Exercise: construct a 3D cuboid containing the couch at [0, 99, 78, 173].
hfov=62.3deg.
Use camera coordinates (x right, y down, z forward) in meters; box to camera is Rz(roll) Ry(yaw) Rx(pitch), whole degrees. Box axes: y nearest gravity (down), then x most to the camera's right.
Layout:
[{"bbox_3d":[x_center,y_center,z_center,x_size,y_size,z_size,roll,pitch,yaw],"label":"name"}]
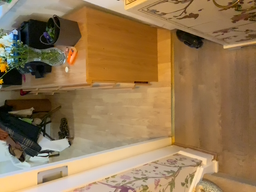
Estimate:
[{"bbox_3d":[-1.230,0.500,2.840,0.590,0.760,0.700,-40,63,40],"label":"couch"}]
